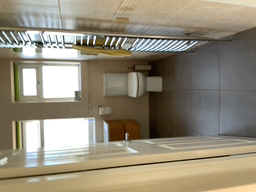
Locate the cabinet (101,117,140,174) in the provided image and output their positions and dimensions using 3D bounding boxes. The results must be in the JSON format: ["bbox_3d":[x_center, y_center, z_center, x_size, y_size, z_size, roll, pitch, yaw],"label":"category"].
[{"bbox_3d":[-0.130,0.740,3.310,0.440,0.510,0.740,-167,77,-74],"label":"cabinet"}]

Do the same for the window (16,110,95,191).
[{"bbox_3d":[-1.180,0.890,3.580,0.320,1.210,1.240,-173,83,-74],"label":"window"}]

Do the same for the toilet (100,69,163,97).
[{"bbox_3d":[0.020,-0.190,3.190,0.660,0.780,0.370,-167,77,-74],"label":"toilet"}]

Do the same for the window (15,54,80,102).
[{"bbox_3d":[-1.270,-0.280,3.430,0.150,0.960,0.720,-173,83,-74],"label":"window"}]
